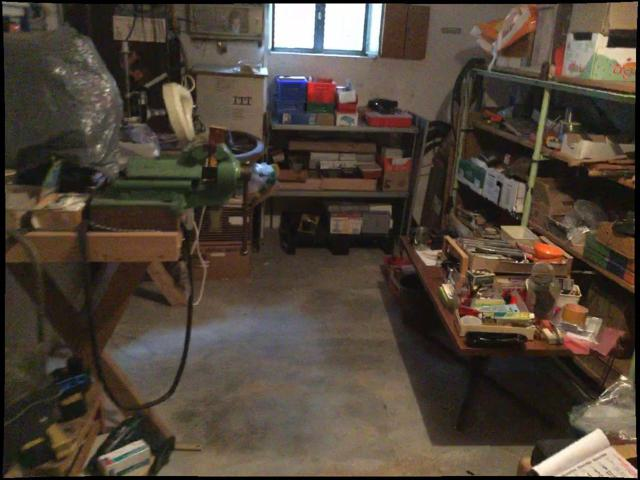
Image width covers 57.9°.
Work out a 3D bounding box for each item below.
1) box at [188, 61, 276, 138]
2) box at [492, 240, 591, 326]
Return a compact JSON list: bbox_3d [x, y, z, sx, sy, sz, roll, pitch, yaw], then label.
[{"bbox_3d":[-0.609,-0.971,3.960,0.549,0.440,0.460,-3,22,-12],"label":"box"},{"bbox_3d":[0.859,0.160,2.280,0.200,0.210,0.320,-3,22,-12],"label":"box"}]
